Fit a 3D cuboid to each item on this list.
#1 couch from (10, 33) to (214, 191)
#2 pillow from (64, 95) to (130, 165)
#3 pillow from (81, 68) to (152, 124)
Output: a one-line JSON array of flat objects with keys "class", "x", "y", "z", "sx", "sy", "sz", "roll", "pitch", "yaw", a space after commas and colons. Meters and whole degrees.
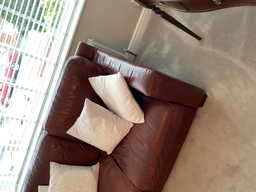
[{"class": "couch", "x": -0.260, "y": 0.480, "z": 1.770, "sx": 0.980, "sy": 0.820, "sz": 1.640, "roll": 33, "pitch": 103, "yaw": 50}, {"class": "pillow", "x": -0.240, "y": 0.270, "z": 1.680, "sx": 0.200, "sy": 0.390, "sz": 0.410, "roll": -90, "pitch": 21, "yaw": -68}, {"class": "pillow", "x": -0.080, "y": -0.010, "z": 1.560, "sx": 0.190, "sy": 0.430, "sz": 0.260, "roll": -81, "pitch": 10, "yaw": -81}]
